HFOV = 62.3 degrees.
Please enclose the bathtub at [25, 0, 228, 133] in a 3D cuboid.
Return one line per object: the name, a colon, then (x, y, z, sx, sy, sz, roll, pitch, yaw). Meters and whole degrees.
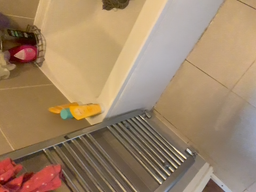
bathtub: (0.120, -0.710, 1.050, 0.750, 0.540, 1.610, 42, 119, 23)
